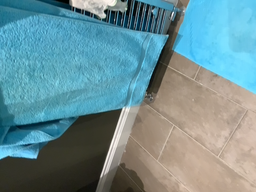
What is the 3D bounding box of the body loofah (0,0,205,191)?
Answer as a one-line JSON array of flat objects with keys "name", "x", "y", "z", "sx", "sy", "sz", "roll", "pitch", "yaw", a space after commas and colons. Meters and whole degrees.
[{"name": "body loofah", "x": -0.230, "y": -0.090, "z": 0.840, "sx": 0.200, "sy": 1.190, "sz": 1.020, "roll": 37, "pitch": 121, "yaw": 35}]
